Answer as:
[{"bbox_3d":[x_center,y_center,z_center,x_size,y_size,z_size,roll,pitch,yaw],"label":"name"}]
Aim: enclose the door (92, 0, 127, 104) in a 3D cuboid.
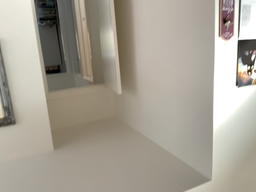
[{"bbox_3d":[-0.260,-0.990,2.300,0.150,2.020,0.800,-7,-167,-13],"label":"door"}]
